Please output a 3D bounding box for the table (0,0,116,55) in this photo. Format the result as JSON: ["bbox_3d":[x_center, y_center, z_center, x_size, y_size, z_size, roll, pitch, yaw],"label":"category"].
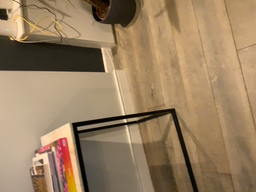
[{"bbox_3d":[-0.560,-0.640,1.680,0.390,0.790,0.470,-15,82,50],"label":"table"}]
